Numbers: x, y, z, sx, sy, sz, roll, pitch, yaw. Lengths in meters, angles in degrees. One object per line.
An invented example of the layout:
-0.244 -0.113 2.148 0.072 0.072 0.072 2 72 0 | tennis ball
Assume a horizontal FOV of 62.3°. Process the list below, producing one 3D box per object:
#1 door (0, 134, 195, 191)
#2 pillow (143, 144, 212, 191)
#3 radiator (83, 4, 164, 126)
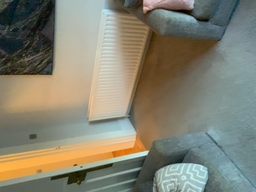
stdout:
-0.430 0.820 2.090 0.150 2.210 0.850 66 147 35 | door
0.370 0.630 1.630 0.210 0.390 0.320 -35 -34 -73 | pillow
-0.130 -0.310 2.970 0.160 0.780 1.730 57 142 45 | radiator
